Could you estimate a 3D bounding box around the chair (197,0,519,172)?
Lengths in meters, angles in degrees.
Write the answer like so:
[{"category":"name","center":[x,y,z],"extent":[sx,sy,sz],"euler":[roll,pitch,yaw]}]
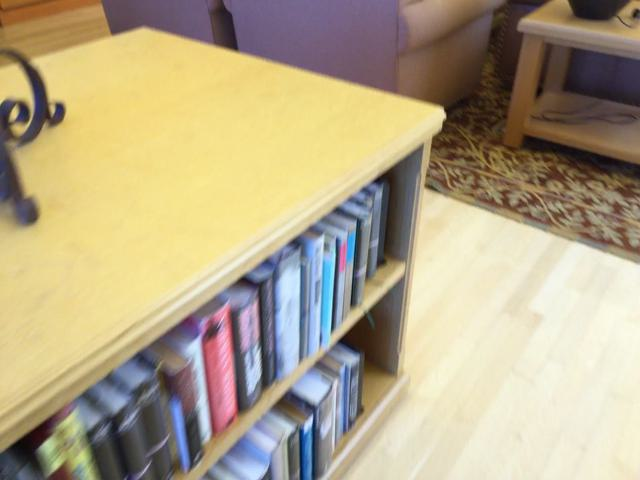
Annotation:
[{"category":"chair","center":[0.150,-0.950,2.660],"extent":[1.180,0.680,0.810],"euler":[27,42,30]}]
